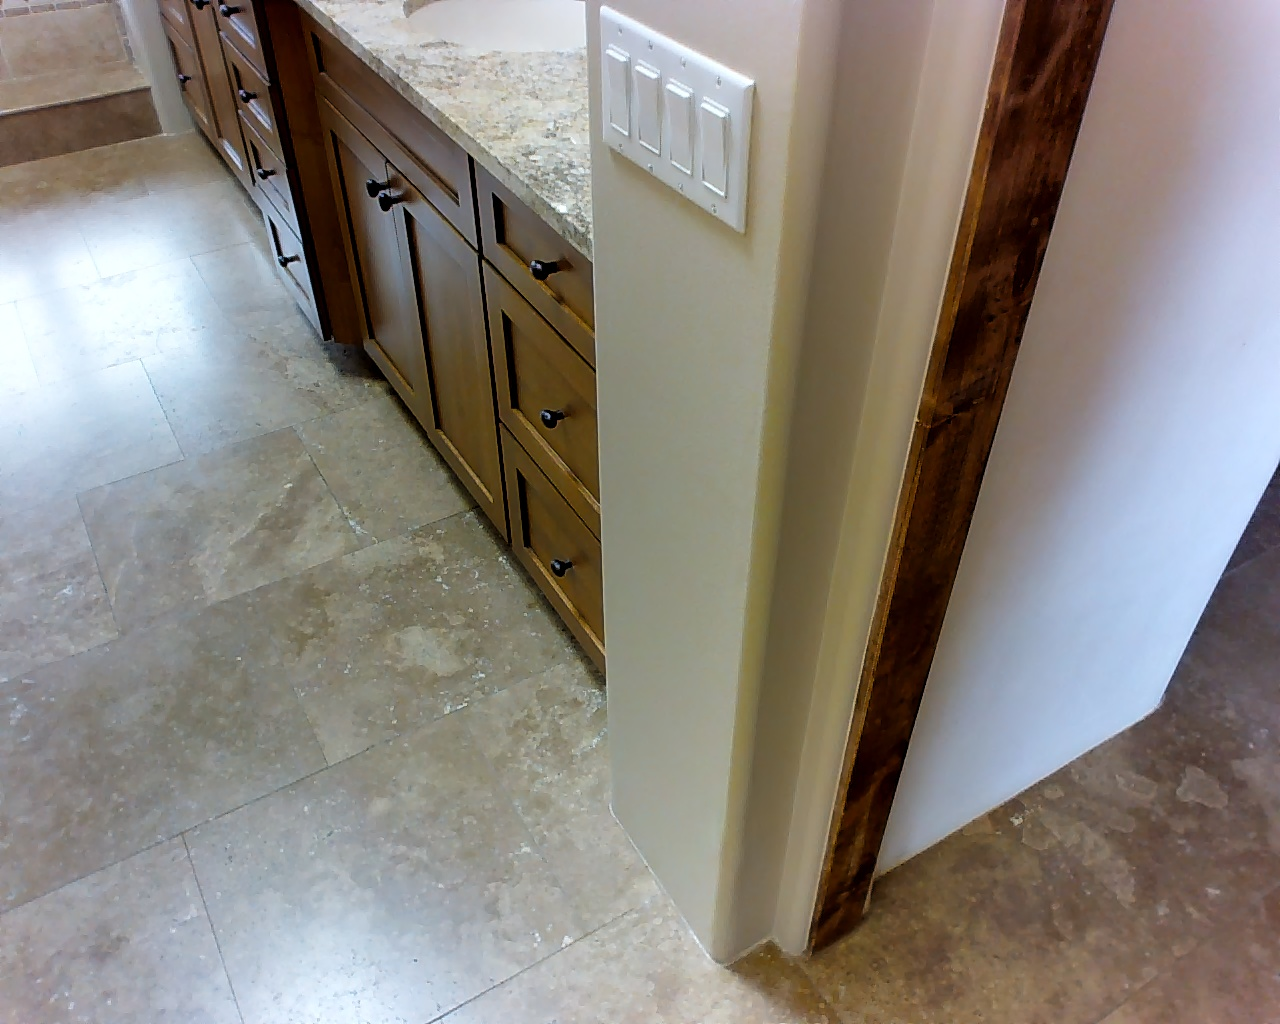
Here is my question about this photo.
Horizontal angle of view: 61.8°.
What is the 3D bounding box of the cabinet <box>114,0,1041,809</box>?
[{"bbox_3d":[-0.560,-0.840,2.450,0.670,0.910,2.980,-21,46,-23],"label":"cabinet"}]
